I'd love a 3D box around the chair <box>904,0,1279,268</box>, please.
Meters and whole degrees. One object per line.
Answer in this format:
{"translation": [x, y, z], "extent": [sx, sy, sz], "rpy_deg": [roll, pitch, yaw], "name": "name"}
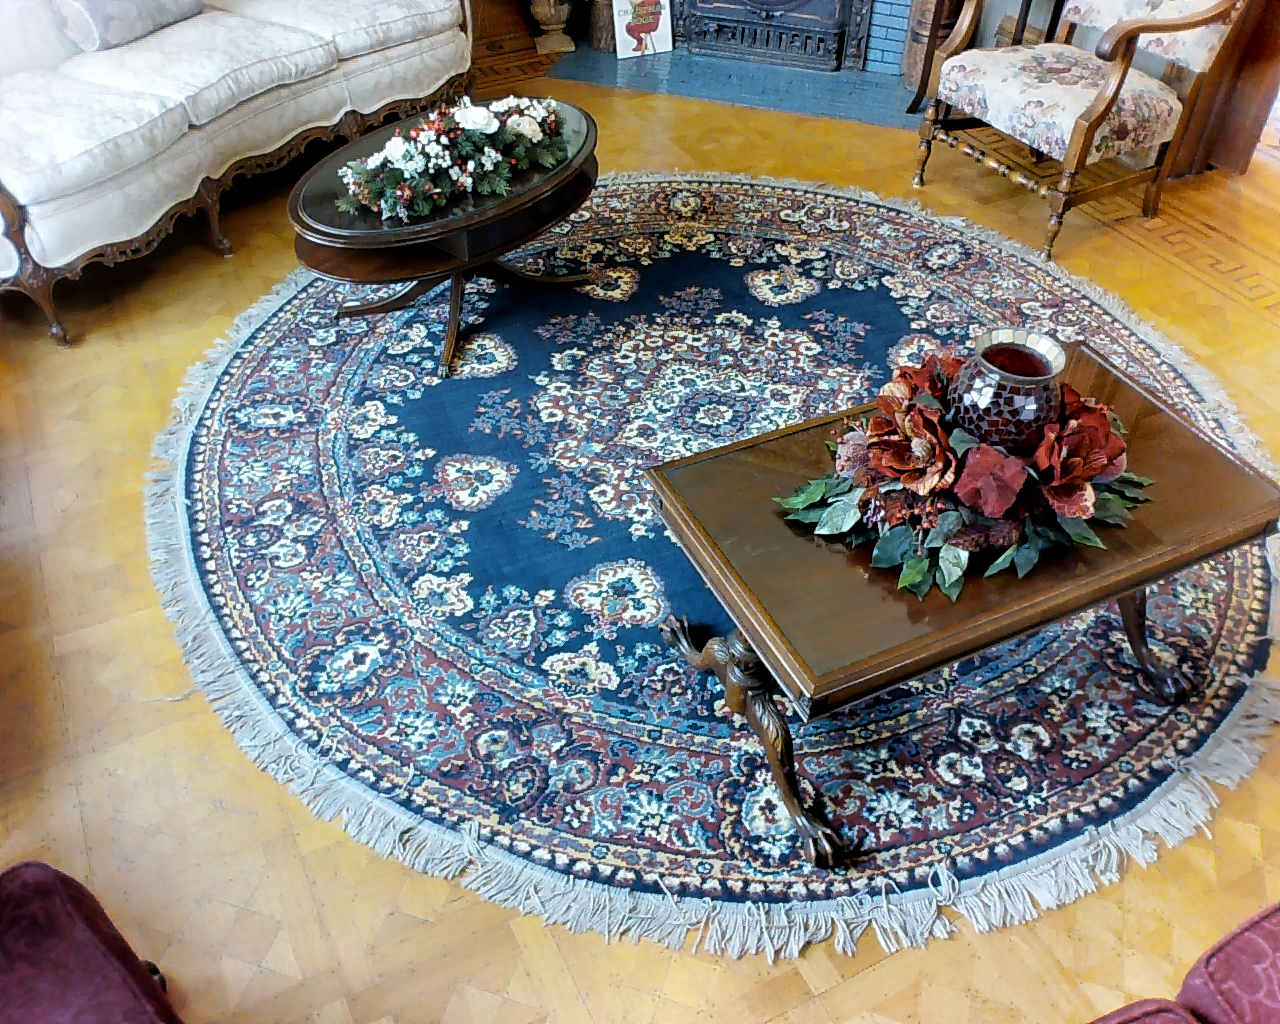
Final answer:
{"translation": [1.370, -1.390, 3.120], "extent": [0.810, 1.000, 0.640], "rpy_deg": [-19, 46, -19], "name": "chair"}
